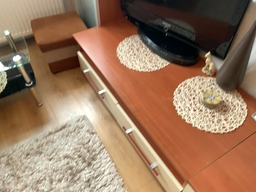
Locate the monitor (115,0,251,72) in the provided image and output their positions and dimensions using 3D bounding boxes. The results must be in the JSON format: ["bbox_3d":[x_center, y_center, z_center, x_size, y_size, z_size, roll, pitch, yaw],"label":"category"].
[{"bbox_3d":[0.230,-0.560,1.200,0.820,0.590,0.040,36,58,25],"label":"monitor"}]

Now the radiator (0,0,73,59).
[{"bbox_3d":[-1.030,-0.710,1.710,1.030,0.780,0.180,-25,55,-20],"label":"radiator"}]
